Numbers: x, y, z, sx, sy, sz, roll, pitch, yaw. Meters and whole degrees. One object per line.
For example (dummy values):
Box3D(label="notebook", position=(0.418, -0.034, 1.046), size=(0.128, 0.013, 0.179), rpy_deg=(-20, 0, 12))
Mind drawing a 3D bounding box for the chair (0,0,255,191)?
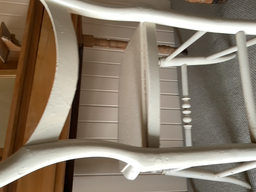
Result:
Box3D(label="chair", position=(0.020, 0.000, 0.520), size=(0.470, 0.820, 0.420), rpy_deg=(130, 142, -71))
